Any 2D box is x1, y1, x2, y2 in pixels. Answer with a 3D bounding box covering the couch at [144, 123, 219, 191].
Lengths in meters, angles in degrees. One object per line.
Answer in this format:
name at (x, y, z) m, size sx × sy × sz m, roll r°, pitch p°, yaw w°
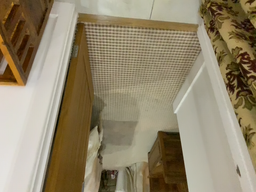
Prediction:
couch at (0.650, 0.990, 3.020) m, size 0.640 × 0.790 × 1.070 m, roll 2°, pitch 145°, yaw -5°
